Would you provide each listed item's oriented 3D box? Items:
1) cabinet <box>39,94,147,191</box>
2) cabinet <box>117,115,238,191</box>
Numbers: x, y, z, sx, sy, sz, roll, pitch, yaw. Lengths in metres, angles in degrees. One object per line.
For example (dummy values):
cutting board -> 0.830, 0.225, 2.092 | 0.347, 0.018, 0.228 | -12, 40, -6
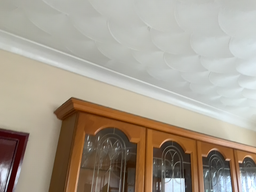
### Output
cabinet -> -0.220, 0.710, 1.210 | 0.540, 1.310, 0.320 | 18, -27, -30
cabinet -> 0.430, 0.710, 1.680 | 1.000, 0.870, 0.320 | 18, -27, -30
